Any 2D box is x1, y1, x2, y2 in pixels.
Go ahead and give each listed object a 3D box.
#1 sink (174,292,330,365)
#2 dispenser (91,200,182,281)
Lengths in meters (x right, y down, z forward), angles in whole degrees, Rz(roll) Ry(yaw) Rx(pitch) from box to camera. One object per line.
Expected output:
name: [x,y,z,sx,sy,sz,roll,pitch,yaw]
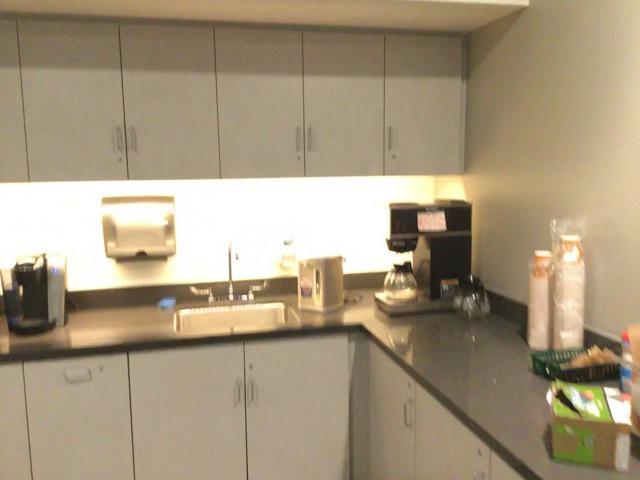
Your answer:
sink: [-0.320,0.370,2.550,0.610,0.150,0.500,-2,7,-16]
dispenser: [-0.800,-0.010,2.550,0.350,0.320,0.250,-2,7,-16]
